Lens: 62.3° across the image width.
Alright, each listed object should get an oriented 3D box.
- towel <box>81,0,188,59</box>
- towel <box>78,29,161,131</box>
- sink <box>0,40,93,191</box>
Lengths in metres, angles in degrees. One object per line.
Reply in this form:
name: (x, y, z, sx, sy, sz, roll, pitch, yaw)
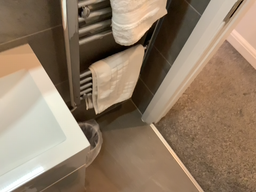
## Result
towel: (0.050, -0.330, 0.540, 0.320, 0.440, 0.110, -28, 70, -24)
towel: (-0.070, -0.050, 1.060, 0.330, 0.510, 0.120, -32, 72, -25)
sink: (-0.450, 0.130, 0.500, 0.630, 0.130, 0.350, -26, 70, -24)
